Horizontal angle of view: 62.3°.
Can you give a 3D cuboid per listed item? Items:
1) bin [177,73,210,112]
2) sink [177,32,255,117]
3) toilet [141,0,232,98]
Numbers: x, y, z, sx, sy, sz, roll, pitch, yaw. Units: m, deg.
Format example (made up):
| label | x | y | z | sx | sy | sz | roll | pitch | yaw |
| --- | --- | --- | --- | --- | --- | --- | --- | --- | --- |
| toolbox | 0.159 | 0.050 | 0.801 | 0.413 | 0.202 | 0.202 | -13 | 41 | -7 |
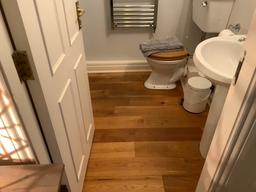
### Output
| label | x | y | z | sx | sy | sz | roll | pitch | yaw |
| --- | --- | --- | --- | --- | --- | --- | --- | --- | --- |
| bin | 0.590 | -0.030 | 1.950 | 0.210 | 0.290 | 0.210 | 1 | 36 | 1 |
| sink | 0.570 | -0.160 | 1.200 | 0.440 | 0.200 | 0.610 | 0 | 36 | 0 |
| toilet | 0.470 | -0.530 | 2.050 | 0.620 | 0.980 | 0.520 | 0 | 36 | 0 |
